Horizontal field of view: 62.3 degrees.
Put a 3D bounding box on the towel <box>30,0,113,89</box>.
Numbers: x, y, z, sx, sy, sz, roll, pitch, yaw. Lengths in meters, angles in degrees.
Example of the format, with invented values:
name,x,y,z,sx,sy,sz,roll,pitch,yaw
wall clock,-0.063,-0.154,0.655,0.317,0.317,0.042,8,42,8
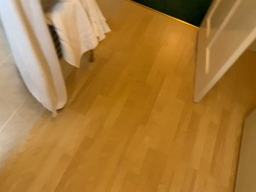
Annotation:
name,x,y,z,sx,sy,sz,roll,pitch,yaw
towel,-0.250,-0.330,1.100,0.180,0.450,0.370,26,60,7
